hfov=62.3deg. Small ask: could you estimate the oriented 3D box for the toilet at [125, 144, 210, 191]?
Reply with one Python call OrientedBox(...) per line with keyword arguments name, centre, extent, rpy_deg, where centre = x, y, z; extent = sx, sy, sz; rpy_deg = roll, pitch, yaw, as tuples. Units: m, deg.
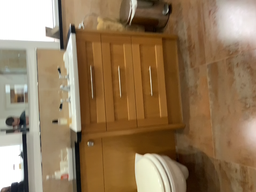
OrientedBox(name="toilet", centre=(0.260, 0.600, 1.580), extent=(0.540, 0.380, 0.370), rpy_deg=(167, 99, -68))
